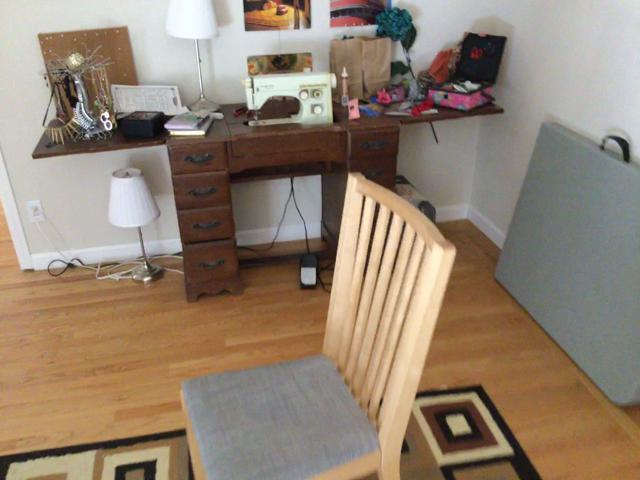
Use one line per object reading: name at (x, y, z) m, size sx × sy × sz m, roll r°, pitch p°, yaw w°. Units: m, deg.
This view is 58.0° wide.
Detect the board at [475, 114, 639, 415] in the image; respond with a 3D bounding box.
board at (0.970, 0.020, 2.210) m, size 0.200 × 0.750 × 1.000 m, roll -7°, pitch 28°, yaw -13°

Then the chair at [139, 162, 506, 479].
chair at (-0.030, 0.370, 1.420) m, size 0.630 × 0.940 × 0.500 m, roll -10°, pitch 29°, yaw -18°

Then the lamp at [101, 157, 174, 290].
lamp at (-0.840, -0.080, 2.700) m, size 0.240 × 0.520 × 0.300 m, roll -7°, pitch 28°, yaw -13°
